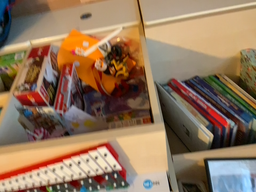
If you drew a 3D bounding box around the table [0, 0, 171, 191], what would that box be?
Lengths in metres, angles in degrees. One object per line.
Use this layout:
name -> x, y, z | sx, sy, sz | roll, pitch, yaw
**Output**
table -> -0.340, 0.040, 0.930 | 0.910, 0.740, 0.520 | -9, 138, 5
